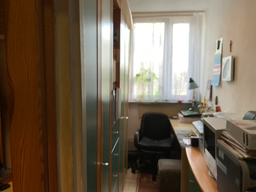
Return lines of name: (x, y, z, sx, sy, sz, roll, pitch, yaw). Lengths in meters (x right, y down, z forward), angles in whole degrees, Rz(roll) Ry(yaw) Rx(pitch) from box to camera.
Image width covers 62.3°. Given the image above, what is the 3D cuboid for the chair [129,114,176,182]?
chair: (0.390, 0.750, 3.310, 0.630, 0.800, 0.760, 2, 6, 10)
